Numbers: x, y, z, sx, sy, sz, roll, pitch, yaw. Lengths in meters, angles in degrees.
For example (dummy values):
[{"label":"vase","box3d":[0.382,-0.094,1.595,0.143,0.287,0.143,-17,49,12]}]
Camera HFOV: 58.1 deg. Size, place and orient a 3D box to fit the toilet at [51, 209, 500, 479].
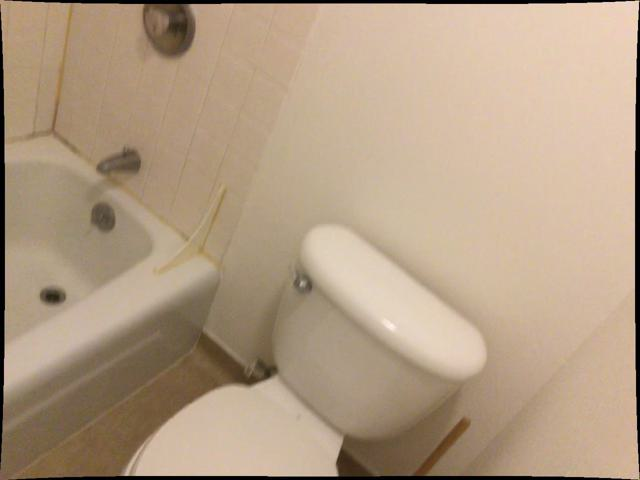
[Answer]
[{"label":"toilet","box3d":[-0.110,0.451,1.240,0.480,0.720,0.710,37,35,15]}]
